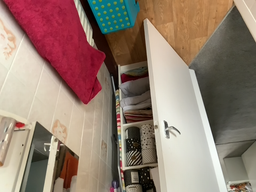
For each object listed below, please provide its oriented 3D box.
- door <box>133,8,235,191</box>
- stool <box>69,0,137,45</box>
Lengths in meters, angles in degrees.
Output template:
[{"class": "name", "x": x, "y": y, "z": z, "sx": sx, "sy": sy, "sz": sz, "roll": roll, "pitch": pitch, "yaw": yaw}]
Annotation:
[{"class": "door", "x": 0.450, "y": 0.390, "z": 1.440, "sx": 0.120, "sy": 2.020, "sz": 1.050, "roll": -26, "pitch": 139, "yaw": 30}, {"class": "stool", "x": -0.160, "y": -0.640, "z": 1.440, "sx": 0.340, "sy": 0.270, "sz": 0.440, "roll": -10, "pitch": 144, "yaw": 11}]
